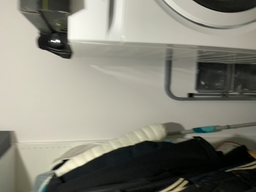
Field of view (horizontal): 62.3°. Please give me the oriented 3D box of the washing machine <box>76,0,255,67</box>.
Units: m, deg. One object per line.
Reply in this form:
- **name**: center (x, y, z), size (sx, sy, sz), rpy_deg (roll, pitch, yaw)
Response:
- **washing machine**: center (0.210, -0.460, 0.850), size (0.690, 0.800, 0.620), rpy_deg (-158, 69, -76)
